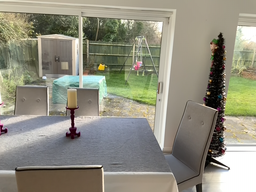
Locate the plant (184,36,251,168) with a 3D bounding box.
[{"bbox_3d":[1.130,0.090,2.810,0.450,1.680,0.390,2,14,-5],"label":"plant"}]
